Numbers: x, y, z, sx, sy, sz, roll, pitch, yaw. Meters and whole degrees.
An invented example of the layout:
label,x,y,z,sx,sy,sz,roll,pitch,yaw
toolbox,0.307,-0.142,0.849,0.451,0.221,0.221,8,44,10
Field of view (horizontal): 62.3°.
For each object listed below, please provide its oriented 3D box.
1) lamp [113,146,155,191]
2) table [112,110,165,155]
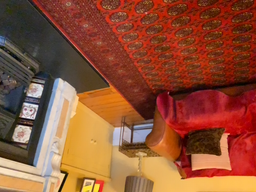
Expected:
label,x,y,z,sx,sy,sz,roll,pitch,yaw
lamp,0.100,1.120,3.050,0.470,0.670,0.390,-8,150,22
table,0.180,0.590,3.340,0.710,0.550,0.400,-8,150,23
